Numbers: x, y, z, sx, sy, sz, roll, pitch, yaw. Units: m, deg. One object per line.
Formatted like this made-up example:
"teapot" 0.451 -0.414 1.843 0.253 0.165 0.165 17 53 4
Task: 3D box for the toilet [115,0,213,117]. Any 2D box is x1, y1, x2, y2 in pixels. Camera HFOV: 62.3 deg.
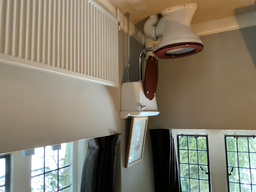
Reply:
"toilet" 0.350 -0.310 2.020 0.730 0.980 0.560 -5 174 28
